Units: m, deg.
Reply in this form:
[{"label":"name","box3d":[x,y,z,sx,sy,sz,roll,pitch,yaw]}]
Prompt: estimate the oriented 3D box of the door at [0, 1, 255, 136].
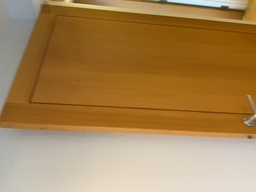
[{"label":"door","box3d":[0.490,-0.170,1.160,0.030,2.040,0.830,101,171,-52]}]
